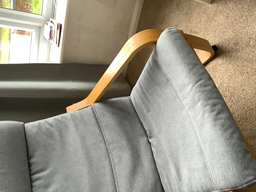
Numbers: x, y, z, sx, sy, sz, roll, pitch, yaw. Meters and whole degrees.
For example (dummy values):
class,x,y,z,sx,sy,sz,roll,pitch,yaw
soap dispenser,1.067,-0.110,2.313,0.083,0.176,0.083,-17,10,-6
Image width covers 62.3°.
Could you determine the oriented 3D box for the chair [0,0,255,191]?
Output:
class,x,y,z,sx,sy,sz,roll,pitch,yaw
chair,-0.030,0.180,0.880,0.830,0.980,0.710,-47,55,45
